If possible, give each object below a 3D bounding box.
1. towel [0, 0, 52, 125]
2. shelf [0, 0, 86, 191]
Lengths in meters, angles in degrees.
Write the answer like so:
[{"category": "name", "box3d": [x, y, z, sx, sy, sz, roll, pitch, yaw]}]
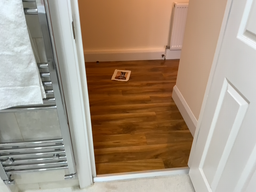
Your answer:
[{"category": "towel", "box3d": [-0.470, -0.170, 0.770, 0.260, 0.570, 0.140, -3, 30, -7]}, {"category": "shelf", "box3d": [-0.460, 0.060, 1.010, 0.400, 1.300, 0.030, -3, 33, -6]}]
